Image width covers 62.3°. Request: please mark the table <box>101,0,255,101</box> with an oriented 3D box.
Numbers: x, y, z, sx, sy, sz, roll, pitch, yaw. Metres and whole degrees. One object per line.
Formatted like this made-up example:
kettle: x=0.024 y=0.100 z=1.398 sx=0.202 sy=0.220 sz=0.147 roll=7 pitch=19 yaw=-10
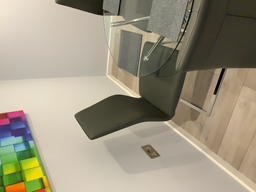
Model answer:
table: x=0.360 y=-0.580 z=1.420 sx=0.860 sy=0.710 sz=0.860 roll=42 pitch=130 yaw=48
